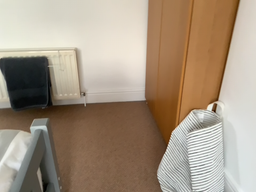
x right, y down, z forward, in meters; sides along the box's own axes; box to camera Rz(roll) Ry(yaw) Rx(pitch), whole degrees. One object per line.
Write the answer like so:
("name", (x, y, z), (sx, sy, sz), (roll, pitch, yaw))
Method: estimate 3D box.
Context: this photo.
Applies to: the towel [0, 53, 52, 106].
("towel", (-0.990, -0.150, 2.020), (0.420, 0.480, 0.130), (-2, 27, -6))
